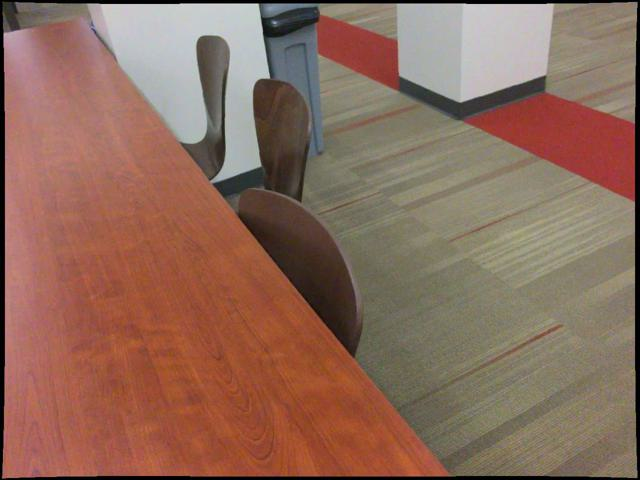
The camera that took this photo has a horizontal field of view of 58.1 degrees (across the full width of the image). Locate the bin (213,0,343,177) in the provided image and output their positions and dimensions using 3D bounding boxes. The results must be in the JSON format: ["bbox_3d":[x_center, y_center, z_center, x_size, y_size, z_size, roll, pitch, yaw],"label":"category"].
[{"bbox_3d":[-0.209,-0.852,2.900,0.359,0.861,0.520,-22,37,-20],"label":"bin"}]
